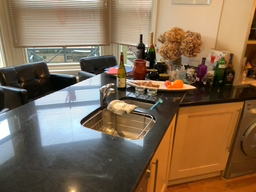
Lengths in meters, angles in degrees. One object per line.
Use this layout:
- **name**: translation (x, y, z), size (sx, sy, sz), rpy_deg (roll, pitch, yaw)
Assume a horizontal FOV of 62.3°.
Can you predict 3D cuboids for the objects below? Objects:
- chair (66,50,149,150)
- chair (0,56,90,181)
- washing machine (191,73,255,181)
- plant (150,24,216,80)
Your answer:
- **chair**: translation (-0.240, -0.010, 2.620), size (0.660, 0.940, 0.680), rpy_deg (18, 27, 33)
- **chair**: translation (-0.860, 0.160, 2.150), size (0.620, 0.940, 0.650), rpy_deg (17, 26, 32)
- **washing machine**: translation (1.140, 0.280, 2.220), size (0.590, 0.870, 0.600), rpy_deg (-4, 23, -15)
- **plant**: translation (0.520, -0.460, 2.160), size (0.450, 0.470, 0.450), rpy_deg (-3, 23, -12)
